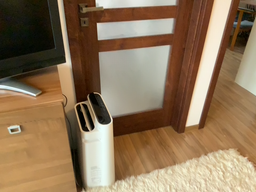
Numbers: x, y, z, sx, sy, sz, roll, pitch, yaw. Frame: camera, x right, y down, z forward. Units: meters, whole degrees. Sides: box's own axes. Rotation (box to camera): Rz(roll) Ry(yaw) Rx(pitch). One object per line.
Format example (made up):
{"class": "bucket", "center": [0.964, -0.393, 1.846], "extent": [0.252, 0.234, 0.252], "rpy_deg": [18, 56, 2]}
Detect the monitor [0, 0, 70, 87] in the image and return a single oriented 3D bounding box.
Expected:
{"class": "monitor", "center": [-0.650, -0.280, 0.840], "extent": [0.800, 0.580, 0.050], "rpy_deg": [-21, 40, -31]}
